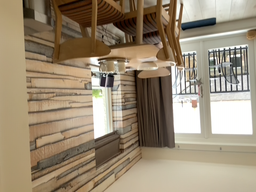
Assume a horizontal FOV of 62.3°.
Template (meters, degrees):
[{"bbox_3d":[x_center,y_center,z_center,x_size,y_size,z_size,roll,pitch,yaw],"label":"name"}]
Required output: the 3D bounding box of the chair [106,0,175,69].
[{"bbox_3d":[0.150,-0.740,2.220,0.550,0.830,0.510,-2,-179,23],"label":"chair"}]

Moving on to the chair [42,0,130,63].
[{"bbox_3d":[-0.340,-0.730,1.800,0.480,0.800,0.530,-2,-179,28],"label":"chair"}]
